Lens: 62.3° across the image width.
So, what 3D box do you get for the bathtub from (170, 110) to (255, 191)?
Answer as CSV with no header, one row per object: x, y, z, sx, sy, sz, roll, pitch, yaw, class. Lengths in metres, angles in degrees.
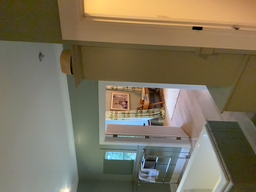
1.180,1.220,3.030,0.950,0.620,1.870,-91,5,-51,bathtub
